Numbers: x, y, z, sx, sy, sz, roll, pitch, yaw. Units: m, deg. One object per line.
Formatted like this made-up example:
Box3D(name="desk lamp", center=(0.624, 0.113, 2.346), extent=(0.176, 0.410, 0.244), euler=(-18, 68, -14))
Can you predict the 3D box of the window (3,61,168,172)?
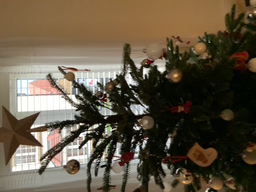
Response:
Box3D(name="window", center=(-0.300, 0.120, 1.730), extent=(0.040, 1.270, 0.810), euler=(158, 109, -74))
